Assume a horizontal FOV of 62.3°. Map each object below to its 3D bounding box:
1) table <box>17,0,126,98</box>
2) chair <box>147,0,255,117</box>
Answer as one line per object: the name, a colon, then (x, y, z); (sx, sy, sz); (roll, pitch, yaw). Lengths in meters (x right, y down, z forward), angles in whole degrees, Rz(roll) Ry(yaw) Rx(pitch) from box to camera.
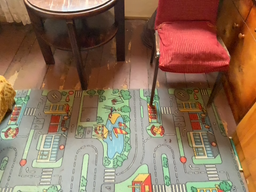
table: (-0.310, -0.470, 1.600); (0.580, 0.590, 0.750); (1, 50, -1)
chair: (0.390, -0.320, 1.410); (0.430, 0.730, 0.600); (1, 50, -1)
